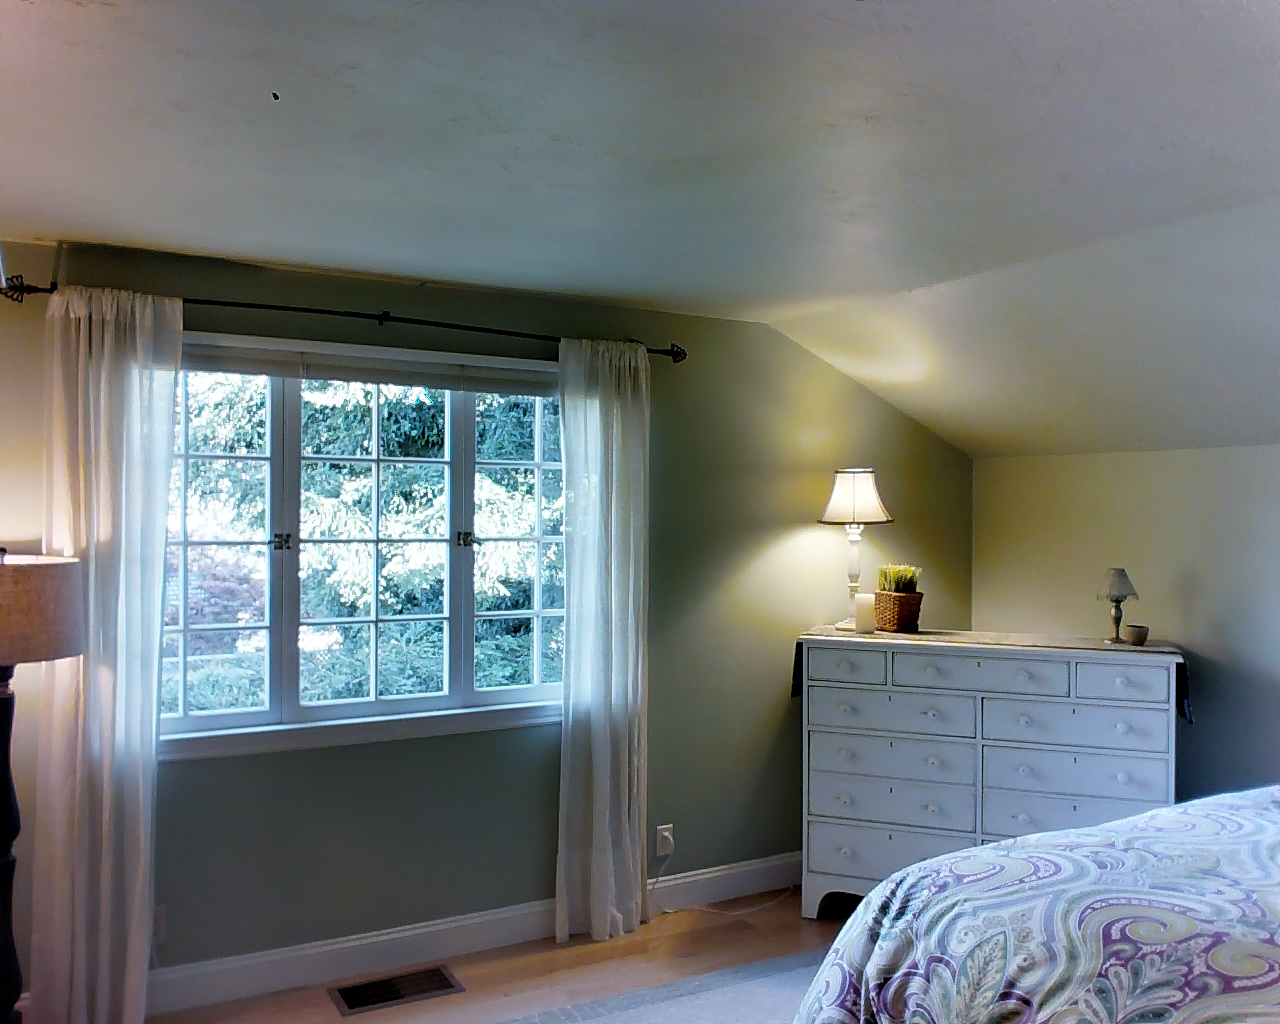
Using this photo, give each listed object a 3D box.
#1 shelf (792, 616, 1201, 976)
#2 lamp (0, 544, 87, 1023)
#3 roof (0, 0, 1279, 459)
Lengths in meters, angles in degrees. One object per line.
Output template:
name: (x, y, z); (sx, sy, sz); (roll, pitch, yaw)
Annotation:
shelf: (1.330, 1.010, 4.130); (1.390, 1.110, 0.520); (1, 0, 20)
lamp: (-1.730, 0.820, 2.880); (0.420, 1.450, 0.410); (0, 0, -29)
roof: (0.680, -0.510, 2.070); (4.329, 0.530, 4.250); (0, 0, -29)
